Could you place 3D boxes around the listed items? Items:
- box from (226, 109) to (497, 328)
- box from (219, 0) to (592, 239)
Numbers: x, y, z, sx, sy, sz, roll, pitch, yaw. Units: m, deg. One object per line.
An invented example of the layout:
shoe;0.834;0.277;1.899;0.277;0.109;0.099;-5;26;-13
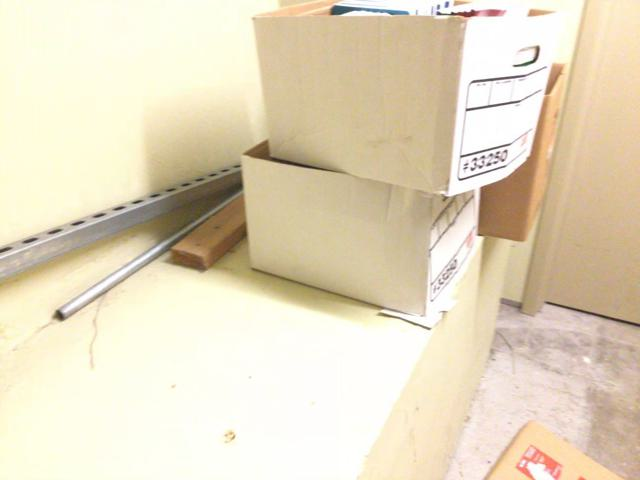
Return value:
box;0.090;-0.070;1.120;0.400;0.250;0.320;12;32;26
box;0.140;-0.270;1.010;0.470;0.290;0.380;22;37;38
